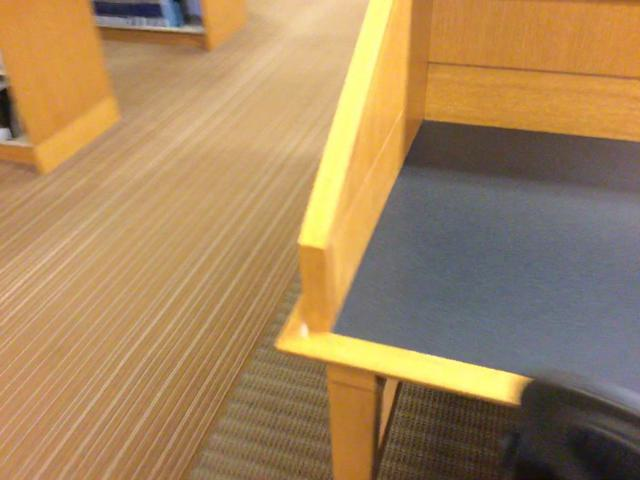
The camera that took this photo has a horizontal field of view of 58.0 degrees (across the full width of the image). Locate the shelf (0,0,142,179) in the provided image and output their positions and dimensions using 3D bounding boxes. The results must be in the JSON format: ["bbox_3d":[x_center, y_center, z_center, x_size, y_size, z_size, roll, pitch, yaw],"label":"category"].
[{"bbox_3d":[-1.340,-0.820,2.670,0.520,0.750,0.710,11,39,19],"label":"shelf"}]
